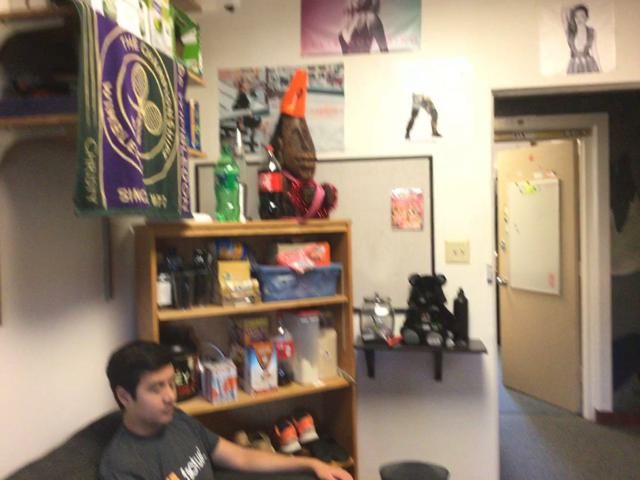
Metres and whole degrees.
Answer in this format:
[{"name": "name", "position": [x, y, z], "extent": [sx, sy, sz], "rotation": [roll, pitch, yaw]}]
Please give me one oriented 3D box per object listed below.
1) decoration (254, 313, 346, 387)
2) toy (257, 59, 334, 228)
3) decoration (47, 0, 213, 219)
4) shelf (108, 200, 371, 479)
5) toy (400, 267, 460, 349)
[{"name": "decoration", "position": [-0.080, 0.490, 2.640], "extent": [0.340, 0.250, 0.350], "rotation": [-1, 2, 13]}, {"name": "toy", "position": [-0.120, -0.430, 2.720], "extent": [0.260, 0.740, 0.290], "rotation": [-2, 2, -24]}, {"name": "decoration", "position": [-0.600, -0.500, 1.980], "extent": [0.140, 0.850, 0.790], "rotation": [-1, 2, 13]}, {"name": "shelf", "position": [-0.280, 0.620, 2.530], "extent": [0.880, 1.540, 0.800], "rotation": [-1, 2, 13]}, {"name": "toy", "position": [0.500, 0.300, 2.610], "extent": [0.240, 0.330, 0.270], "rotation": [-3, 2, 13]}]
